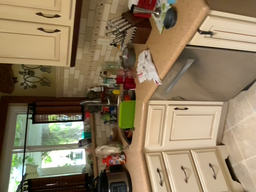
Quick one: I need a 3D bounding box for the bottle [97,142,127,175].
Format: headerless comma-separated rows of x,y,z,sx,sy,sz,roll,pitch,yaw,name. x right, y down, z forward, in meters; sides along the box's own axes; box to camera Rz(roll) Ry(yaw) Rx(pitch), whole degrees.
-0.170,0.630,2.140,0.200,0.240,0.260,118,148,-53,bottle
